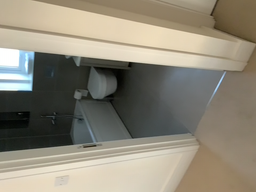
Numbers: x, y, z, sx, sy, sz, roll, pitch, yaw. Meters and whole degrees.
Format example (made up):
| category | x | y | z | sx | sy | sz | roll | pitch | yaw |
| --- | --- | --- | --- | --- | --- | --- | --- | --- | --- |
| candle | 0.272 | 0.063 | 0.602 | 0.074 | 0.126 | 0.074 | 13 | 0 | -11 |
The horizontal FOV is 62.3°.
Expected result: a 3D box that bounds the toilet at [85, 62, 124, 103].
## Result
| category | x | y | z | sx | sy | sz | roll | pitch | yaw |
| --- | --- | --- | --- | --- | --- | --- | --- | --- | --- |
| toilet | -0.350 | -0.190 | 2.990 | 0.500 | 0.320 | 0.360 | 52 | 133 | 47 |
